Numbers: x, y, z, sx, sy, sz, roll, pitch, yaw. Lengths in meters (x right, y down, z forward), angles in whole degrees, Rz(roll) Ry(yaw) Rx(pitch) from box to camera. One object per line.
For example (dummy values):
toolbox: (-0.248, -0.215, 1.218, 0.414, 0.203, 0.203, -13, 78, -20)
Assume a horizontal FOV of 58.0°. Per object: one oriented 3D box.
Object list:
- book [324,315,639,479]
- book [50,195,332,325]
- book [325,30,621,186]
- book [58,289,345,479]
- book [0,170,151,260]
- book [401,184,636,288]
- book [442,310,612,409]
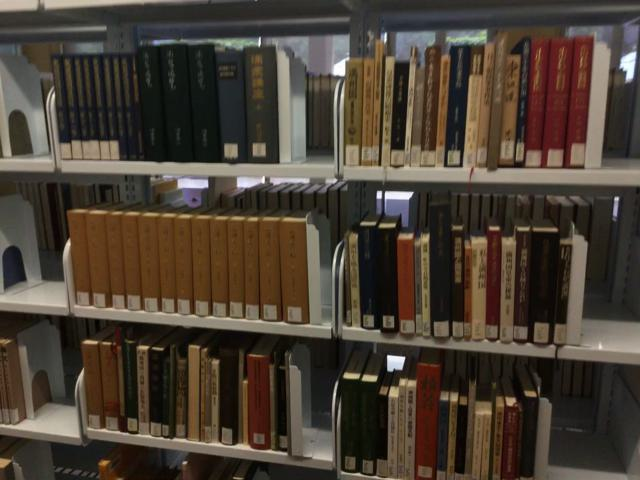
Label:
book: (0.330, 0.370, 1.240, 0.610, 0.320, 0.220, 3, 12, 11)
book: (-0.270, 0.030, 1.260, 0.570, 0.220, 0.170, 3, 12, 11)
book: (0.260, -0.240, 1.070, 0.480, 0.250, 0.160, 3, 12, 11)
book: (-0.260, 0.360, 1.370, 0.600, 0.400, 0.240, 3, 12, 11)
book: (-0.770, -0.080, 1.720, 0.530, 0.240, 0.070, 3, 12, 11)
book: (0.490, -0.020, 1.500, 0.540, 0.220, 0.150, 3, 12, 11)
book: (0.530, 0.310, 1.520, 0.400, 0.210, 0.070, 3, 12, 11)
